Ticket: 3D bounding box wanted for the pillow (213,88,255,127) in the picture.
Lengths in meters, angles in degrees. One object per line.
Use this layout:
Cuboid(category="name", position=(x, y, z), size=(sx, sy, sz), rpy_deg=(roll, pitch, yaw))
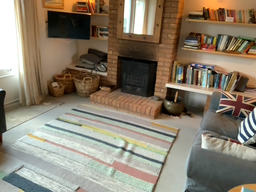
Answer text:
Cuboid(category="pillow", position=(1.280, 0.130, 2.480), size=(0.460, 0.330, 0.150), rpy_deg=(15, 48, 26))
